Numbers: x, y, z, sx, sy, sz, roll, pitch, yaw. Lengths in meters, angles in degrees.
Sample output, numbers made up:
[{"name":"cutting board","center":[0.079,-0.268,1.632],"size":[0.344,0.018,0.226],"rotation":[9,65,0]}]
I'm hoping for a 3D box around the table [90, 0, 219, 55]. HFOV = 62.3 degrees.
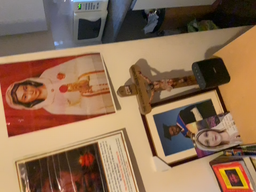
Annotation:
[{"name":"table","center":[0.190,-0.830,1.970],"size":[0.620,0.900,0.550],"rotation":[137,119,-68]}]
